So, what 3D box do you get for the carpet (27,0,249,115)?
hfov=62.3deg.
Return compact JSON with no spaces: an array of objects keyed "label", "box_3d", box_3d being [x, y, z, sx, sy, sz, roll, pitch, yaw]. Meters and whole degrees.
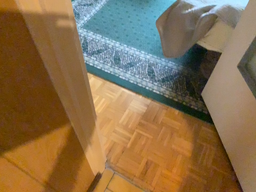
[{"label":"carpet","box_3d":[0.290,-0.860,1.950,1.410,0.080,1.870,25,59,15]}]
